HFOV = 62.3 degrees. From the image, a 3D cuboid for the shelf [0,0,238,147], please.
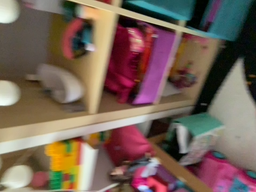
[{"bbox_3d":[-0.240,-0.390,0.810,0.670,1.470,0.780,34,117,37],"label":"shelf"}]
